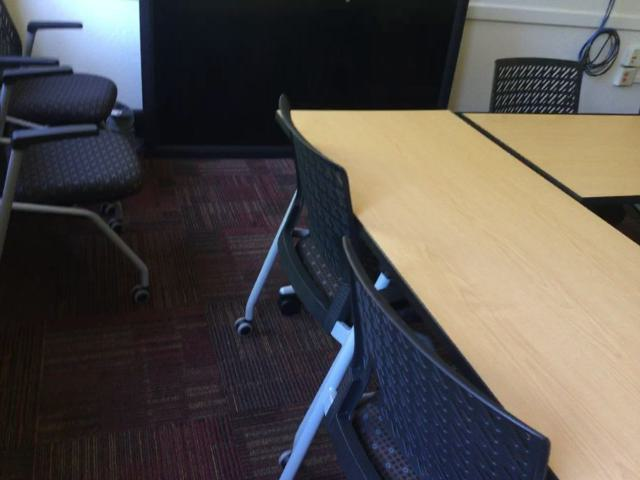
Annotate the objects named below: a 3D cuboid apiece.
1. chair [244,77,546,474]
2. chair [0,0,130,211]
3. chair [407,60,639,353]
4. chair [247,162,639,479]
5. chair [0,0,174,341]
[{"bbox_3d":[0.100,0.070,1.540,0.480,0.830,0.580,-5,34,-17],"label":"chair"},{"bbox_3d":[-1.070,-0.610,2.270,0.500,0.800,0.600,-1,33,-11],"label":"chair"},{"bbox_3d":[0.780,-0.140,2.050,0.610,0.810,0.590,-5,34,-17],"label":"chair"},{"bbox_3d":[0.260,0.390,1.080,0.590,0.830,0.560,-13,38,-28],"label":"chair"},{"bbox_3d":[-0.820,-0.250,1.820,0.540,0.840,0.610,-10,36,-24],"label":"chair"}]
